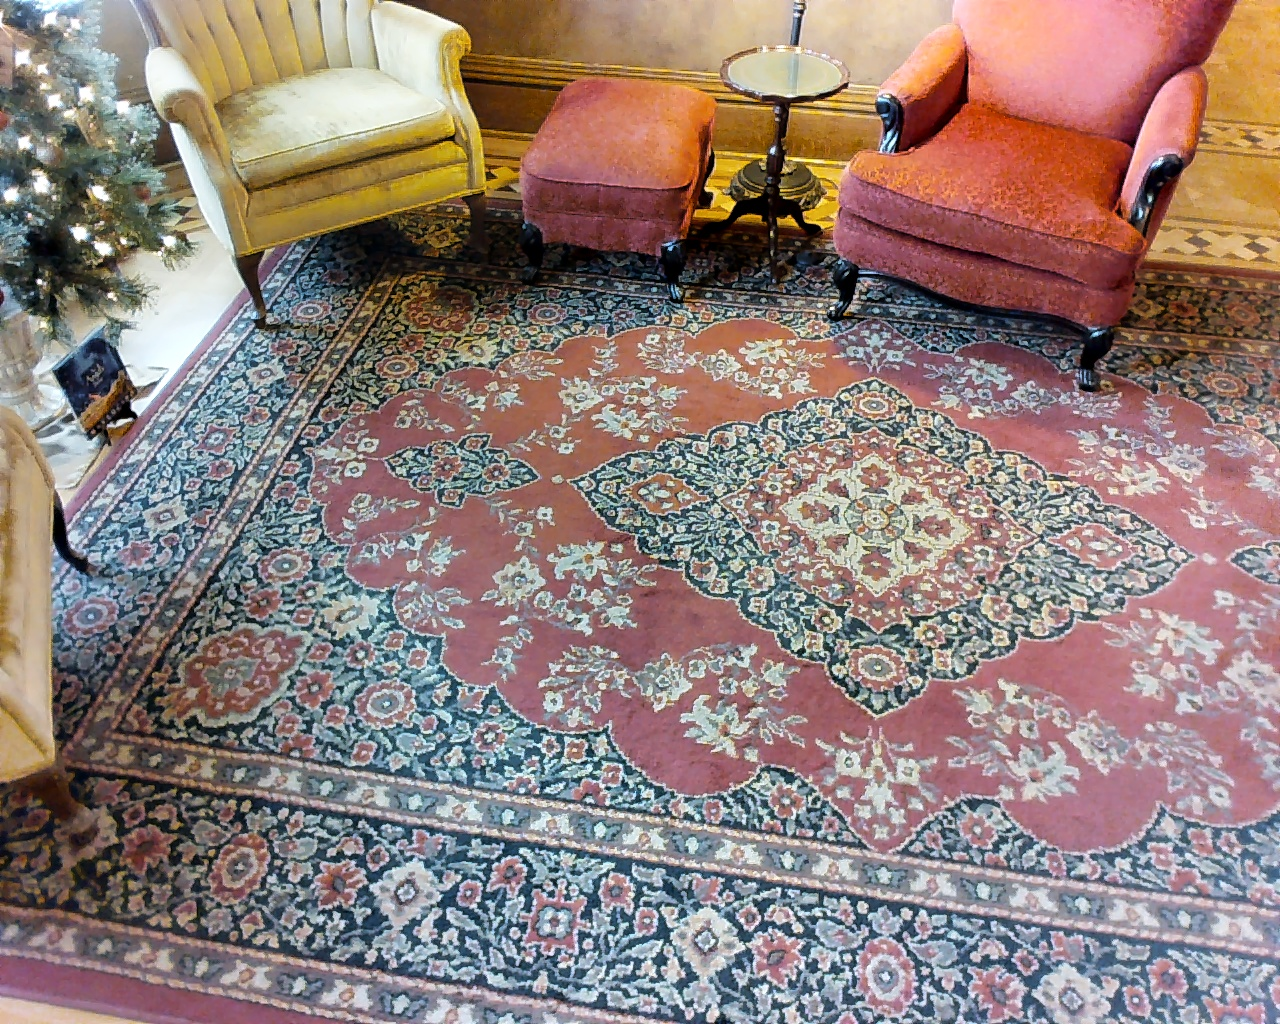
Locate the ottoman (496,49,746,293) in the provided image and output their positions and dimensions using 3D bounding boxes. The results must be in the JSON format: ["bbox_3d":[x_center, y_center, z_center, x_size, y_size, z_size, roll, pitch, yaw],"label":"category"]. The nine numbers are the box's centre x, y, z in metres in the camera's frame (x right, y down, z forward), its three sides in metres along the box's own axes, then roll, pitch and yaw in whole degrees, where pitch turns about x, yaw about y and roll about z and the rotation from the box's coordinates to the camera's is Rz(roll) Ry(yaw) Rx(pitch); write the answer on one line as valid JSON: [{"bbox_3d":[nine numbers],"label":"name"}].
[{"bbox_3d":[-0.030,-0.960,2.990,0.530,0.370,0.620,9,44,10],"label":"ottoman"}]
